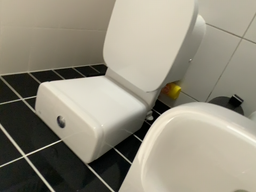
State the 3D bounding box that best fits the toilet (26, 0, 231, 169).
[{"bbox_3d":[0.040,-0.190,0.960,0.380,0.760,0.630,35,120,25],"label":"toilet"}]
